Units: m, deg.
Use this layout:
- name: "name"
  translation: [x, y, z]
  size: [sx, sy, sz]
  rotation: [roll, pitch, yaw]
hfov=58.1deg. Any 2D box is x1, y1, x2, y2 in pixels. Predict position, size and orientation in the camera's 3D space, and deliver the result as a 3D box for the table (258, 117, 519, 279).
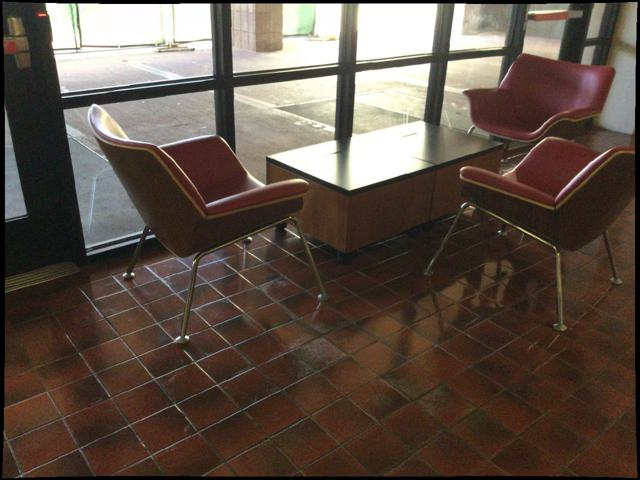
- name: "table"
  translation: [0.399, -0.311, 3.250]
  size: [1.298, 0.431, 0.719]
  rotation: [-19, 33, -35]
